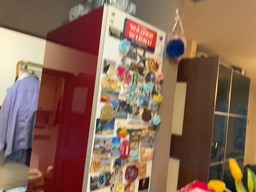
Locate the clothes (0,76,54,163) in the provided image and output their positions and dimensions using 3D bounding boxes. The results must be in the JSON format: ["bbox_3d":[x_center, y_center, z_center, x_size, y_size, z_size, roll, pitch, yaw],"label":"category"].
[{"bbox_3d":[-1.160,0.250,2.330,0.480,0.850,0.300,9,-4,-42],"label":"clothes"}]
